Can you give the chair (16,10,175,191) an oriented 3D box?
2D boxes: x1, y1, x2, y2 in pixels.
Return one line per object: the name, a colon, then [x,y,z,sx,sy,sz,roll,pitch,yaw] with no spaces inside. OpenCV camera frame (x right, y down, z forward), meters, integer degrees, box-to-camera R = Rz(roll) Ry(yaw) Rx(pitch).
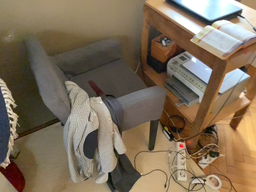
chair: [-0.200,0.020,1.360,0.600,0.790,0.640,-22,49,-21]
